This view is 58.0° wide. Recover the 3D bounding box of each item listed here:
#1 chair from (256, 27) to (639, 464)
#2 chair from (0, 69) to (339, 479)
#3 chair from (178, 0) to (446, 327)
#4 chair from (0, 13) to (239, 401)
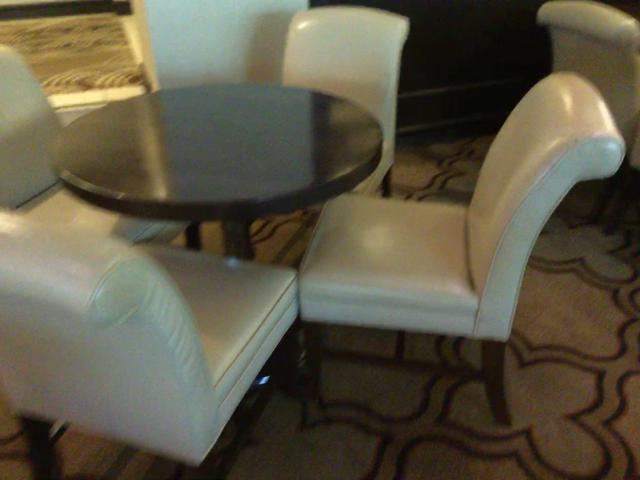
[{"bbox_3d":[0.340,-0.030,1.690,0.840,0.940,0.680,10,32,12],"label":"chair"},{"bbox_3d":[-0.360,0.180,1.340,0.560,0.880,0.830,11,33,14],"label":"chair"},{"bbox_3d":[0.020,-0.380,2.300,0.660,0.950,0.920,13,33,17],"label":"chair"},{"bbox_3d":[-0.790,-0.140,1.830,0.850,0.930,0.600,11,33,14],"label":"chair"}]
